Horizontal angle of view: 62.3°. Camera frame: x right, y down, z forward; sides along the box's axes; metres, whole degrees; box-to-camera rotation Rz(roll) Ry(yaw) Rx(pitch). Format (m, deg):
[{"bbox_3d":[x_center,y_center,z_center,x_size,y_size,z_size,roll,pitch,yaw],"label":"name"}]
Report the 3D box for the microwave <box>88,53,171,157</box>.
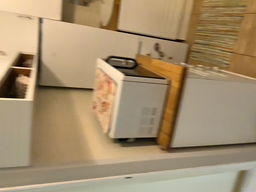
[{"bbox_3d":[-0.040,0.020,1.390,0.550,0.290,0.490,-138,55,-61],"label":"microwave"}]
